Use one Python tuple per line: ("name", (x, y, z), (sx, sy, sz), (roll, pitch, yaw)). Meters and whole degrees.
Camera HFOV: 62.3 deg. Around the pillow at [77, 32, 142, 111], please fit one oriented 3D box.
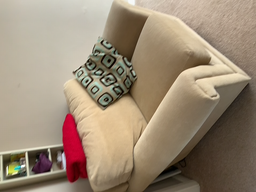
("pillow", (-0.180, -0.190, 1.690), (0.380, 0.310, 0.500), (-67, 33, 36))
